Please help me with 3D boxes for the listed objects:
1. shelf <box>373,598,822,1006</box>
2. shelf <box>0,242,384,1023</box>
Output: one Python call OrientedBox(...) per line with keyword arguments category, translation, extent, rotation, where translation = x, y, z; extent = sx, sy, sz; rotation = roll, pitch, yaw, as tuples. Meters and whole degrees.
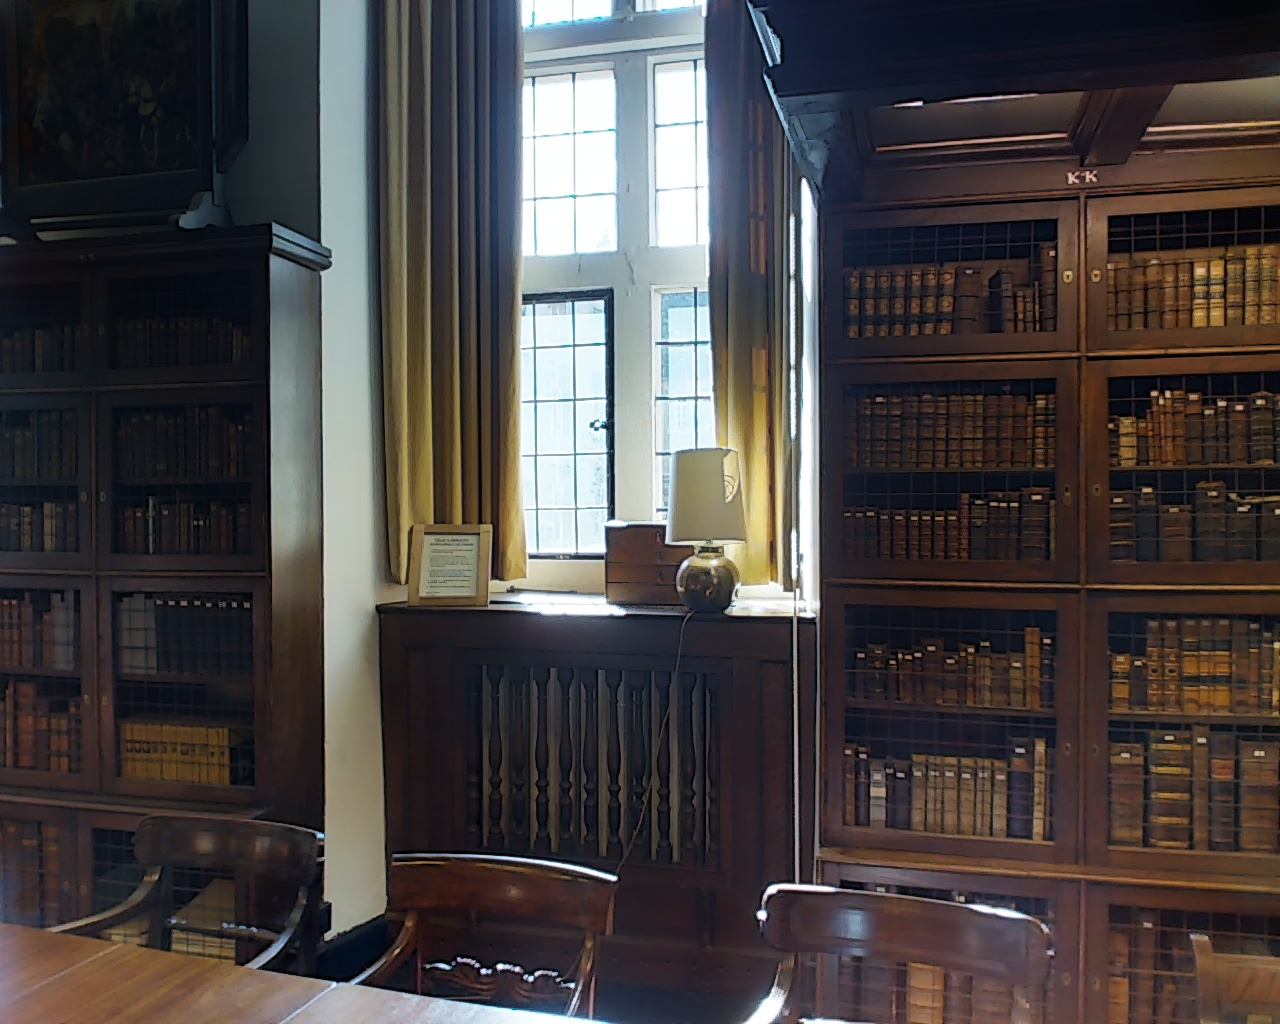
OrientedBox(category="shelf", translation=(-0.140, 0.890, 3.540), extent=(1.430, 1.160, 0.360), rotation=(0, 1, 14))
OrientedBox(category="shelf", translation=(-2.109, 0.380, 3.550), extent=(2.389, 2.221, 0.700), rotation=(0, 1, 14))
